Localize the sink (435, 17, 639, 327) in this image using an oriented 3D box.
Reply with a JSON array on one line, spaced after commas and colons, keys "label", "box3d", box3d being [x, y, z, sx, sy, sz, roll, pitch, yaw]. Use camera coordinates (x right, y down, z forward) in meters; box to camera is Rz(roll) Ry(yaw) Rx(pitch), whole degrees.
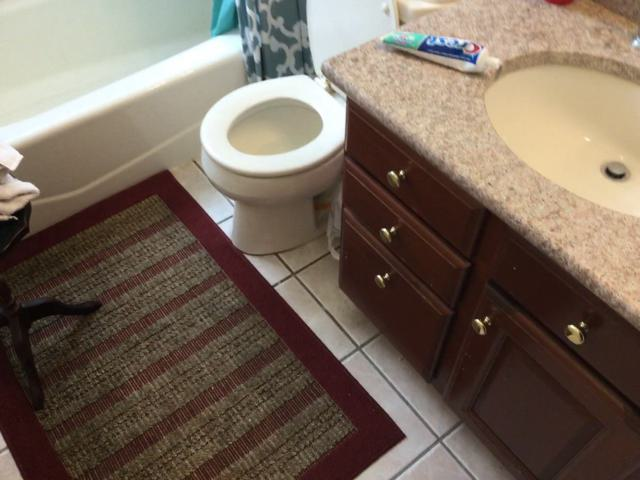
[{"label": "sink", "box3d": [0.480, -0.140, 0.970, 0.330, 0.190, 0.430, -31, 58, -23]}]
